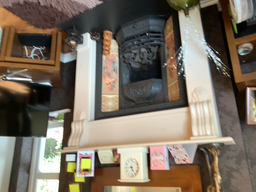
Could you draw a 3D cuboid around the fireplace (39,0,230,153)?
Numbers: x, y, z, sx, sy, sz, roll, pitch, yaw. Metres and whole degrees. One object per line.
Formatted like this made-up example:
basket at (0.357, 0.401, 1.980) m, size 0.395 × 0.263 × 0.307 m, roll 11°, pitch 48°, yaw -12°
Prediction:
fireplace at (0.010, -0.180, 1.780) m, size 1.320 × 1.190 × 0.580 m, roll -11°, pitch 159°, yaw 28°
